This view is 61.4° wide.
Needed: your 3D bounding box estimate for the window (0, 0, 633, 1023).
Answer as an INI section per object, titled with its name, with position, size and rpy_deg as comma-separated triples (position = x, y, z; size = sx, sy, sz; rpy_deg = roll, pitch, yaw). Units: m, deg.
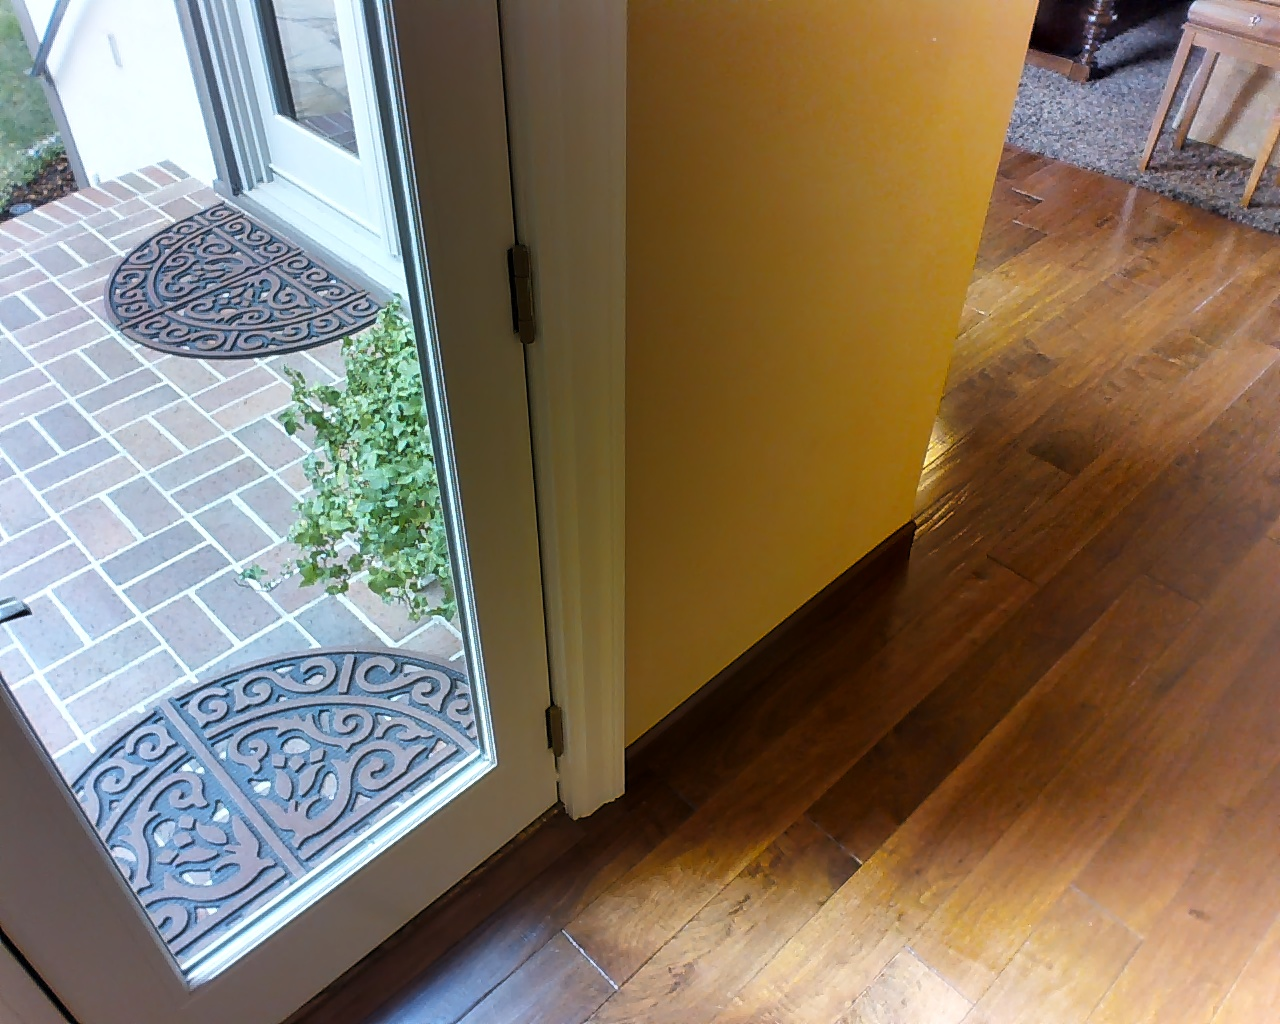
[window]
position = -0.640, 0.070, 0.740
size = 1.630, 2.030, 0.130
rpy_deg = -33, 52, -31
